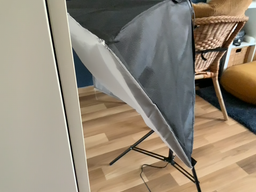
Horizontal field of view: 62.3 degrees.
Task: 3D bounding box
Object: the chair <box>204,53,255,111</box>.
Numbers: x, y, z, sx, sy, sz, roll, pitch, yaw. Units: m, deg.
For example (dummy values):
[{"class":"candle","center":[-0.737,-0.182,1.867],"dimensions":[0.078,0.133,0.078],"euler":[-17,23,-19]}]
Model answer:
[{"class":"chair","center":[1.230,-0.180,1.990],"dimensions":[0.760,0.220,0.580],"euler":[-11,32,-20]}]
